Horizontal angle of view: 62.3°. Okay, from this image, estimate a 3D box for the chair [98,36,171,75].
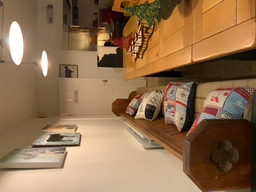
[{"bbox_3d":[0.070,-0.640,3.570,0.710,1.100,0.490,-176,87,-79],"label":"chair"}]

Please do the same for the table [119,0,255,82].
[{"bbox_3d":[0.530,-0.630,2.220,2.970,0.790,0.850,-172,83,-78],"label":"table"}]
